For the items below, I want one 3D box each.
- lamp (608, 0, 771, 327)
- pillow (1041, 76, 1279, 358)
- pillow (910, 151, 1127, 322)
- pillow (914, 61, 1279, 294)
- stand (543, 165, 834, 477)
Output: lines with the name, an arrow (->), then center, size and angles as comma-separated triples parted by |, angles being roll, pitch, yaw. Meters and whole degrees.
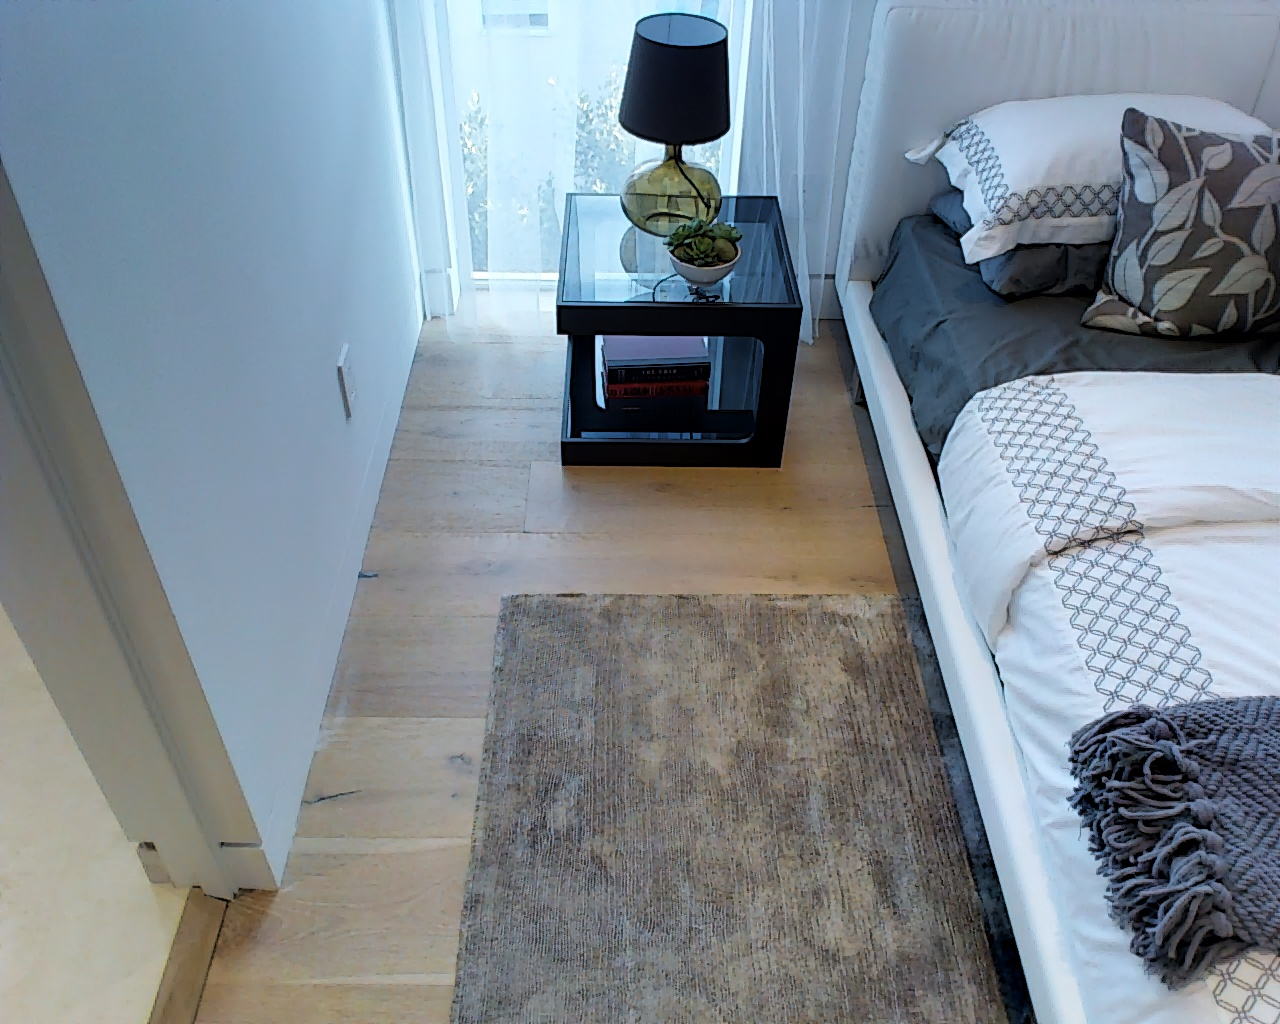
lamp -> 0.090, -0.770, 2.390 | 0.310, 0.610, 0.350 | 1, 42, 0
pillow -> 1.130, -0.540, 2.040 | 0.540, 0.440, 0.290 | 1, 64, -1
pillow -> 0.790, -0.600, 2.310 | 0.300, 0.150, 0.470 | 0, 42, -1
pillow -> 1.060, -0.700, 2.240 | 0.840, 0.280, 0.450 | 0, 44, -1
stand -> 0.090, -0.470, 2.580 | 0.590, 0.450, 0.660 | 0, 42, -1
